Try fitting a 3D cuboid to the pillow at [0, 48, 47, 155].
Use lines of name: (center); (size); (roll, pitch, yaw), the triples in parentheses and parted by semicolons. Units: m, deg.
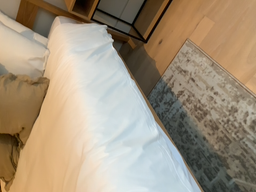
pillow: (-0.730, 0.060, 1.200); (0.220, 0.420, 0.560); (49, 141, 37)
